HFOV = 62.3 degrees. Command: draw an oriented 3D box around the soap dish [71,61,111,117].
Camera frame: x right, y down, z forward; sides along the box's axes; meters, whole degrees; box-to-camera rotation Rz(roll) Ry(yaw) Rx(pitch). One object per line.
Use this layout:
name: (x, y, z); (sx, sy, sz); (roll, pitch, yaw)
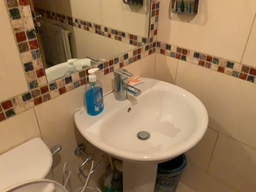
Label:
soap dish: (-0.150, -0.030, 0.880); (0.110, 0.180, 0.100); (25, 40, 33)
